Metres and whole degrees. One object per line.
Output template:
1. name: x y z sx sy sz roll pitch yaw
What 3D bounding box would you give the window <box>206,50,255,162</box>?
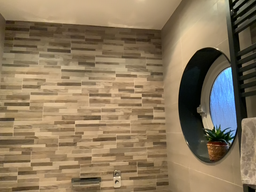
1. window: 0.860 0.110 1.730 0.080 0.740 0.720 0 -9 -5
